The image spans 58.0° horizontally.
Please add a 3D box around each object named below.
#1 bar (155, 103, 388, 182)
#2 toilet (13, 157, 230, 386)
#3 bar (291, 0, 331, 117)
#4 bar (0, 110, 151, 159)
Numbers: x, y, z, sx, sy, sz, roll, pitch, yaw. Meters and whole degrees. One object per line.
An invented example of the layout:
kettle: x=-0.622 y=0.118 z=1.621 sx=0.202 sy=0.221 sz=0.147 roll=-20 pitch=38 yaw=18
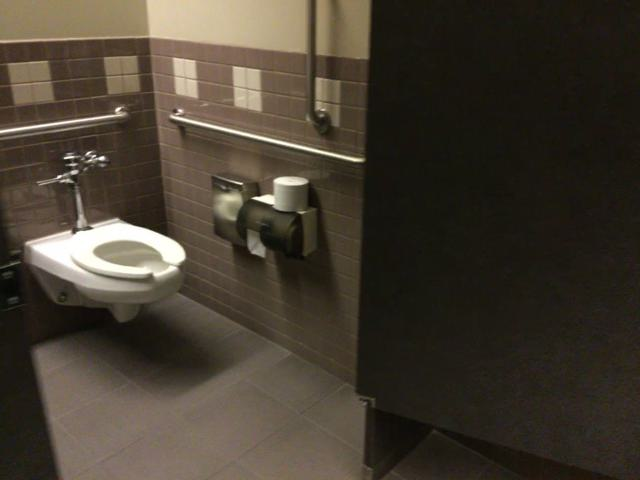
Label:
bar: x=-0.250 y=-0.390 z=2.160 sx=1.180 sy=0.100 sz=0.080 roll=20 pitch=27 yaw=39
toilet: x=-0.760 y=0.070 z=2.260 sx=0.640 sy=0.620 sz=0.500 roll=19 pitch=27 yaw=38
bar: x=-0.030 y=-0.640 z=1.850 sx=0.110 sy=0.470 sz=0.060 roll=20 pitch=27 yaw=39
bar: x=-1.060 y=-0.380 z=2.130 sx=0.090 sy=0.110 sz=0.930 roll=19 pitch=27 yaw=38
